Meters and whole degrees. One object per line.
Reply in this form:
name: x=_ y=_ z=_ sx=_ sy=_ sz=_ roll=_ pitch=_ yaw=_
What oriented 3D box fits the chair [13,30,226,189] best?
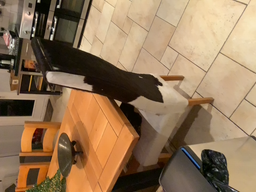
chair: x=-0.030 y=0.080 z=1.400 sx=0.480 sy=1.180 sz=0.630 roll=50 pitch=126 yaw=43

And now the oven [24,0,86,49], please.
oven: x=-1.220 y=-1.210 z=3.490 sx=0.630 sy=0.760 sz=0.510 roll=53 pitch=128 yaw=41

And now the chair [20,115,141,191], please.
chair: x=-0.470 y=0.520 z=2.130 sx=0.490 sy=1.010 sz=0.440 roll=50 pitch=126 yaw=43

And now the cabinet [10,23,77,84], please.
cabinet: x=-1.510 y=-0.720 z=3.740 sx=0.630 sy=0.900 sz=0.730 roll=53 pitch=128 yaw=41
